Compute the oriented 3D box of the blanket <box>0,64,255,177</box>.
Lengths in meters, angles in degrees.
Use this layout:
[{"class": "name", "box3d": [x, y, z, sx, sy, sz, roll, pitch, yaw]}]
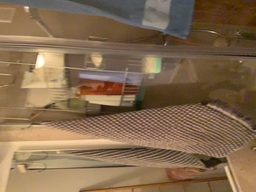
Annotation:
[{"class": "blanket", "box3d": [0.120, 0.090, 0.850, 0.210, 1.050, 0.340, 106, 161, -54]}]
